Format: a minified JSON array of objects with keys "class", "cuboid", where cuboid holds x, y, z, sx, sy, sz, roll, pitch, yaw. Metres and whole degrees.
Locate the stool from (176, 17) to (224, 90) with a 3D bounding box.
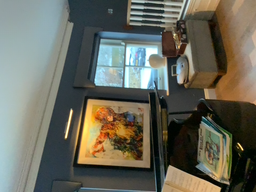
[{"class":"stool","cuboid":[1.190,-0.750,3.660,0.470,0.510,1.180,98,176,-60]}]
